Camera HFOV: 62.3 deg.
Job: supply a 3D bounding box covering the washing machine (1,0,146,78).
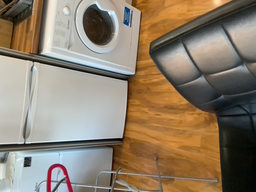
[{"bbox_3d":[-0.440,-0.540,1.840,0.710,0.930,0.610,3,86,45],"label":"washing machine"}]
